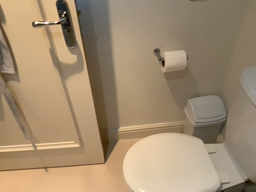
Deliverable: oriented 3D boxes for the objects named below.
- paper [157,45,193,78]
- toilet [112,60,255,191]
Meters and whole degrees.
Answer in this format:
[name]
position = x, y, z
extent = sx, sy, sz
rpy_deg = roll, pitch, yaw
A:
[paper]
position = 0.240, -0.180, 1.100
extent = 0.140, 0.110, 0.120
rpy_deg = -6, 43, -5
[toilet]
position = 0.280, 0.300, 1.000
extent = 0.610, 0.770, 0.390
rpy_deg = -8, 43, -8
